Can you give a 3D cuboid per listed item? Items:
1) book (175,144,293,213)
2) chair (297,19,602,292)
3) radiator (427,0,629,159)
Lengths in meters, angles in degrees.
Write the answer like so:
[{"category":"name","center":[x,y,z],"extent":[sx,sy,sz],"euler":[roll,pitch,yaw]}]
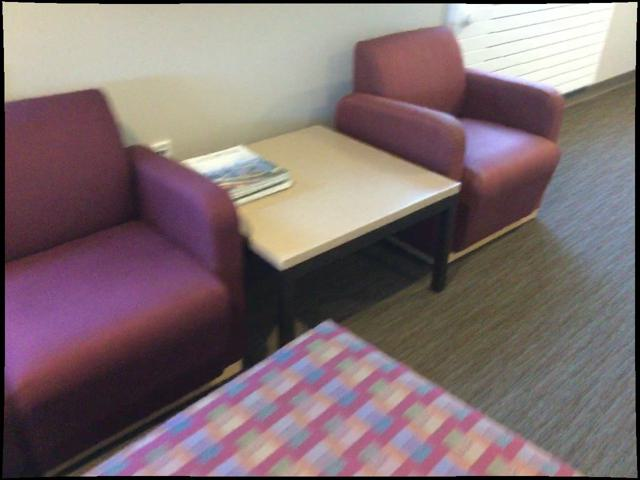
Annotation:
[{"category":"book","center":[-0.299,-0.221,1.990],"extent":[0.270,0.070,0.320],"euler":[-24,38,-34]},{"category":"chair","center":[0.519,-0.451,2.550],"extent":[0.859,0.792,0.879],"euler":[-24,38,-34]},{"category":"radiator","center":[1.366,-1.203,3.540],"extent":[1.928,0.952,0.100],"euler":[-24,38,-34]}]
